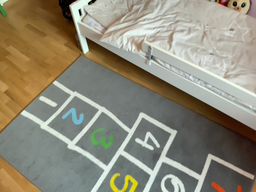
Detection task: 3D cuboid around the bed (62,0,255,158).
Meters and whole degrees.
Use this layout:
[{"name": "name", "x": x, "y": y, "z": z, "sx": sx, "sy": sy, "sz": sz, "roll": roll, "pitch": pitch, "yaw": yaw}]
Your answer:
[{"name": "bed", "x": 0.420, "y": -0.370, "z": 1.660, "sx": 1.680, "sy": 0.410, "sz": 0.800, "roll": 31, "pitch": 63, "yaw": 19}]
